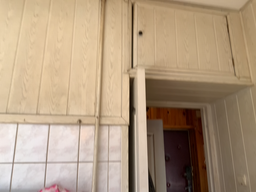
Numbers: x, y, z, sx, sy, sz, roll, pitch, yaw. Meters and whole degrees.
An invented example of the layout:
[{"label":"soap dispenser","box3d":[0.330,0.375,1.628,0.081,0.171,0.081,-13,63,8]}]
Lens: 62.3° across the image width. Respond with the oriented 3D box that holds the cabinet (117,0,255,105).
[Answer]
[{"label":"cabinet","box3d":[0.360,-0.280,1.670,0.830,0.550,0.630,2,-16,-9]}]
